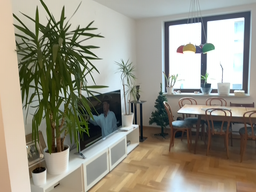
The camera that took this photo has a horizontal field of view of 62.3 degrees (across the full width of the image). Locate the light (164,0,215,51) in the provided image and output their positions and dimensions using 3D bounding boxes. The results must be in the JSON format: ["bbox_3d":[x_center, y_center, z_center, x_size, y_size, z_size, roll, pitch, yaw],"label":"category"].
[{"bbox_3d":[1.010,-1.100,3.370,0.570,0.690,0.990,3,9,27],"label":"light"}]

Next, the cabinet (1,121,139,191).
[{"bbox_3d":[-0.550,0.900,3.220,0.470,0.410,2.500,2,9,26],"label":"cabinet"}]

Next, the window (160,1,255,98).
[{"bbox_3d":[1.620,-0.910,4.570,1.830,1.830,0.220,2,9,26],"label":"window"}]
